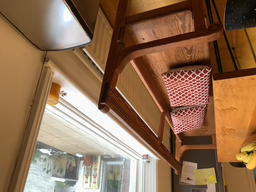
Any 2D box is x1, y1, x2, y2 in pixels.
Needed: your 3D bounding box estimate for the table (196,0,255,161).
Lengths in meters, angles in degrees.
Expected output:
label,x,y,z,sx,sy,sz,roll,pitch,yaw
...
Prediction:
label,x,y,z,sx,sy,sz,roll,pitch,yaw
table,0.890,-0.070,1.590,0.560,0.760,1.630,-8,151,19
